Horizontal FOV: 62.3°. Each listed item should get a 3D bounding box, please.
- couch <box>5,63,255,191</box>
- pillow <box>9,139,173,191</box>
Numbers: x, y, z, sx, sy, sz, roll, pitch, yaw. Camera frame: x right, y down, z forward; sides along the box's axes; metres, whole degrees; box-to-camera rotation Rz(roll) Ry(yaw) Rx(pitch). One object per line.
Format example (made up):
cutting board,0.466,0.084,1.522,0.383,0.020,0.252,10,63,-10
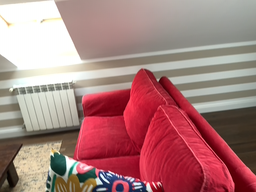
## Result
couch,0.020,0.410,1.520,0.930,0.820,1.760,-6,22,-3
pillow,-0.110,0.480,0.980,0.610,0.380,0.380,0,22,13
